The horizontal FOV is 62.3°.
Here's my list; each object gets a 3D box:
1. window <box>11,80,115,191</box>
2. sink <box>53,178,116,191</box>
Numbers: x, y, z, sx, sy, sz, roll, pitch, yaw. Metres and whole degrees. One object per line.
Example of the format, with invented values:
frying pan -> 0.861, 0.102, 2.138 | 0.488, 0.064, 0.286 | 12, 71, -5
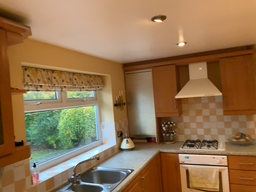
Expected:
window -> -0.590, 0.340, 2.430 | 0.190, 0.970, 1.450 | -5, 0, 22
sink -> -0.380, 0.880, 1.880 | 0.500, 0.180, 0.230 | -4, 0, 22
